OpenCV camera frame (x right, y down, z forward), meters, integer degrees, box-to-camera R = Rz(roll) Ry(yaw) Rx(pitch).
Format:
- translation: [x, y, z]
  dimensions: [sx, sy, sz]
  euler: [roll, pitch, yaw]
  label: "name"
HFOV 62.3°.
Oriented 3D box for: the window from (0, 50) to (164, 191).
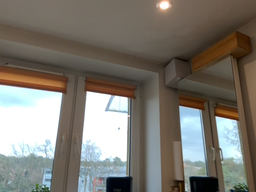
- translation: [-0.480, 0.290, 1.590]
  dimensions: [1.670, 1.110, 0.120]
  euler: [9, -19, -22]
  label: "window"
